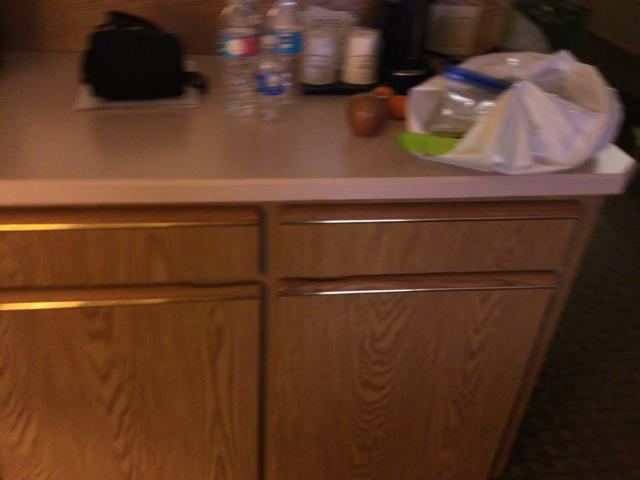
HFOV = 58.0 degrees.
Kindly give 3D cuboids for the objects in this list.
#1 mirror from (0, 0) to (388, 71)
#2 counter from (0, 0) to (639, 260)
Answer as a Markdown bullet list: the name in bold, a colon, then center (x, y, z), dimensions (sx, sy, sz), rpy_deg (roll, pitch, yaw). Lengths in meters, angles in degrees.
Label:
- **mirror**: center (-0.310, -0.520, 1.270), dimensions (0.910, 0.210, 0.120), rpy_deg (-5, 31, -5)
- **counter**: center (-0.340, -0.290, 1.030), dimensions (1.620, 0.320, 0.660), rpy_deg (-5, 31, -5)
